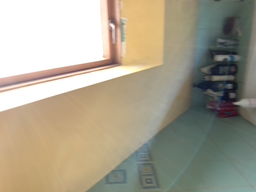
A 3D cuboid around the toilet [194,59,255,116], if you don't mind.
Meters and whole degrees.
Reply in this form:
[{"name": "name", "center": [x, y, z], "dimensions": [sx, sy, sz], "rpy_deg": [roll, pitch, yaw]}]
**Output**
[{"name": "toilet", "center": [0.790, -0.090, 1.810], "dimensions": [0.380, 0.290, 0.380], "rpy_deg": [-100, 8, -70]}]
